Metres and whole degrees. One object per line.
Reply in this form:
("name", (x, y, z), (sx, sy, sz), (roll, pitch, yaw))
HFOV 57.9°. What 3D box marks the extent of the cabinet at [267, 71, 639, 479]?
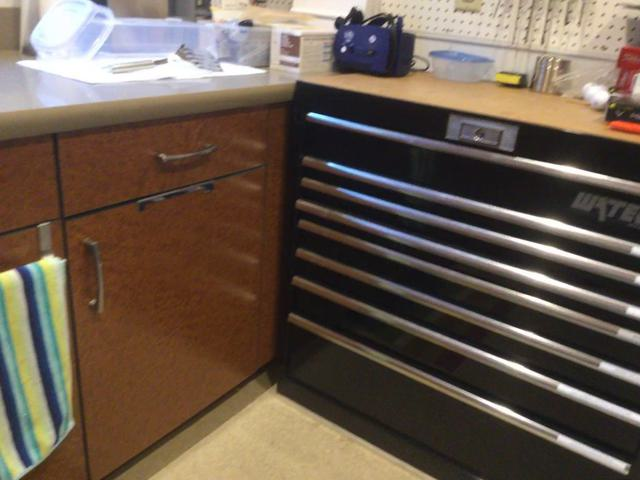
("cabinet", (0.400, 0.110, 1.460), (0.910, 0.890, 0.500), (19, 27, 30))
